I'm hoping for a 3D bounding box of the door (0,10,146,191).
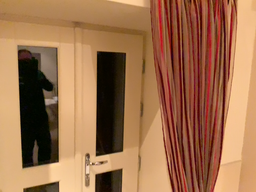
[{"bbox_3d":[-0.340,0.470,1.290,0.930,1.790,0.060,-3,9,-27],"label":"door"}]
